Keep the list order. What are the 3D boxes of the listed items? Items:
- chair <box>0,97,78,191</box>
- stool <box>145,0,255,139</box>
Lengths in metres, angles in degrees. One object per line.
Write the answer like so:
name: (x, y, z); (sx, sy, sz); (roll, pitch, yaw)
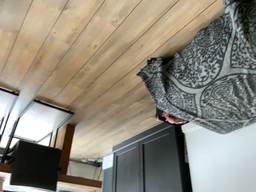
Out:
chair: (-0.990, 0.590, 2.380); (0.520, 0.880, 0.580); (24, 140, -31)
stool: (0.780, -0.120, 1.650); (0.900, 0.440, 0.920); (23, 141, -30)
